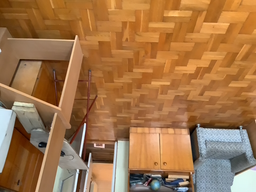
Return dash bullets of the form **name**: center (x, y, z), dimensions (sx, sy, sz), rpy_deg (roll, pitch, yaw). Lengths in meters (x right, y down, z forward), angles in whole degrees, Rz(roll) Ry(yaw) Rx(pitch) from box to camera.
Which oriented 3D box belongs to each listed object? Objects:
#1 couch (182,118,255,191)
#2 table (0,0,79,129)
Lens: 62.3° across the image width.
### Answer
- **couch**: center (1.320, 0.970, 3.130), dimensions (0.740, 0.990, 0.810), rpy_deg (3, 148, -1)
- **table**: center (-0.930, -0.320, 1.400), dimensions (0.950, 0.740, 0.890), rpy_deg (2, 148, 0)
